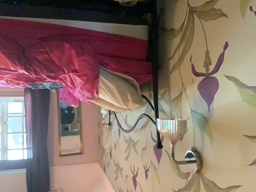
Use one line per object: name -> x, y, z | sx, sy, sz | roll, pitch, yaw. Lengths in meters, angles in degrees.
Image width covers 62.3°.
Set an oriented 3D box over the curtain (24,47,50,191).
curtain -> -1.470, 0.410, 3.460 | 0.340, 2.350, 0.320 | -1, 178, -19
